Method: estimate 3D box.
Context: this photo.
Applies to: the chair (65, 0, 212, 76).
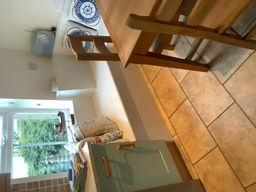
[{"bbox_3d":[0.080,-0.510,1.710,0.450,1.000,0.450,51,130,50],"label":"chair"}]
